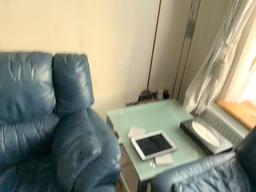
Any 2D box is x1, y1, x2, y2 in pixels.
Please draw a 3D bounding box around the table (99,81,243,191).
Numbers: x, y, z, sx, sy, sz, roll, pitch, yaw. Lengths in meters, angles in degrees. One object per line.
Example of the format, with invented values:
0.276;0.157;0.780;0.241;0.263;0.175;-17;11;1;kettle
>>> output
0.240;0.340;1.710;0.740;0.500;0.830;-10;36;-21;table
